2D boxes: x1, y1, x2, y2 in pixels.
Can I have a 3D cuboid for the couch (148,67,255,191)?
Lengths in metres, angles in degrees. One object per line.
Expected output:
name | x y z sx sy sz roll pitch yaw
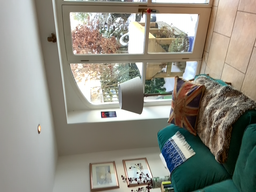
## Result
couch | 0.900 0.610 1.960 1.990 0.880 1.060 -109 19 -59

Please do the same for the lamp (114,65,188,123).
lamp | 0.260 -0.050 2.830 0.510 0.830 0.560 -112 21 -62
